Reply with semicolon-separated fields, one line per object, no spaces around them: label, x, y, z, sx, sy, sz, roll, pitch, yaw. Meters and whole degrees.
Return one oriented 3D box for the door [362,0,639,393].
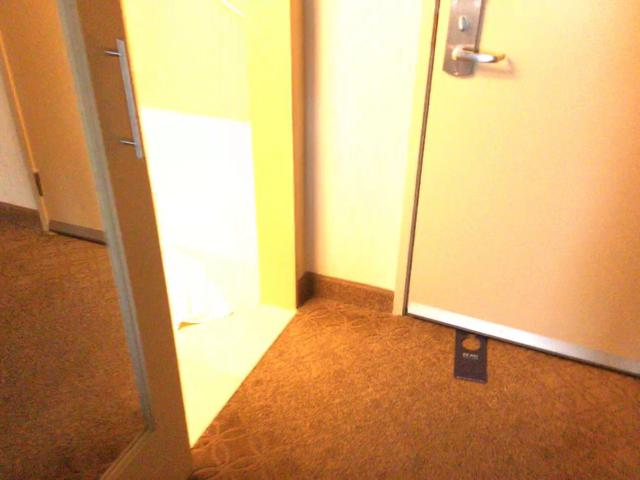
door;0.680;-0.520;1.370;1.090;1.970;0.160;12;30;20
